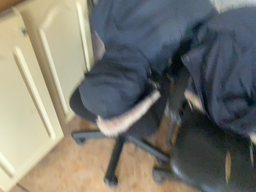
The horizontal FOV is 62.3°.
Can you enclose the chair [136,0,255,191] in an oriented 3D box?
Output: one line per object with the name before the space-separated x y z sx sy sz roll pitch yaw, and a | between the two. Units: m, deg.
chair | 0.450 0.160 0.860 0.590 0.840 0.710 20 50 16
